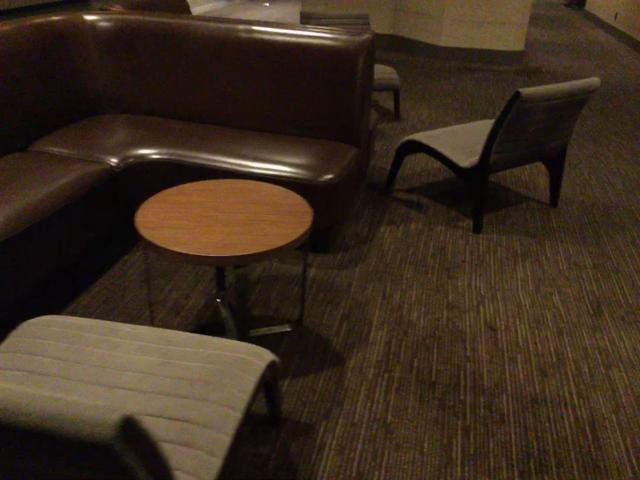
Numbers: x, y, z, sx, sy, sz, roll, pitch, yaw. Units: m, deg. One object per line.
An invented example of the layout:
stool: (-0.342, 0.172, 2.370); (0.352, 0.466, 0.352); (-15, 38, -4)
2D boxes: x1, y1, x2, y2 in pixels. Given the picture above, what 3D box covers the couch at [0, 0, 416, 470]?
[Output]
couch: (-1.650, -0.990, 3.080); (4.030, 0.960, 3.490); (11, 31, 7)
